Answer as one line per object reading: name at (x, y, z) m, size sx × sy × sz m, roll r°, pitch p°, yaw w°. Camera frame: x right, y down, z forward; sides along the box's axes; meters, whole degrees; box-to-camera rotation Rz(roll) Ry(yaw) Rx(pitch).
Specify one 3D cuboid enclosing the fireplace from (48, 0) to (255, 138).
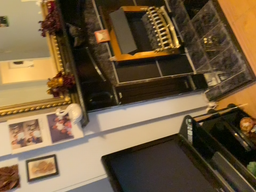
fireplace at (0.090, -0.560, 1.670) m, size 0.580 × 1.170 × 1.420 m, roll -46°, pitch 59°, yaw 60°
